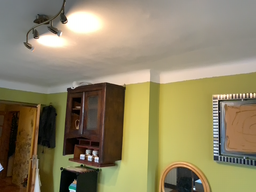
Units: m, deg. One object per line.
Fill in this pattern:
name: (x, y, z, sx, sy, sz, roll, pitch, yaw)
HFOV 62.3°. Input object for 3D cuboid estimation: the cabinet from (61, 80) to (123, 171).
cabinet: (-0.510, 0.390, 2.970, 0.790, 1.090, 0.370, -4, -11, 40)
